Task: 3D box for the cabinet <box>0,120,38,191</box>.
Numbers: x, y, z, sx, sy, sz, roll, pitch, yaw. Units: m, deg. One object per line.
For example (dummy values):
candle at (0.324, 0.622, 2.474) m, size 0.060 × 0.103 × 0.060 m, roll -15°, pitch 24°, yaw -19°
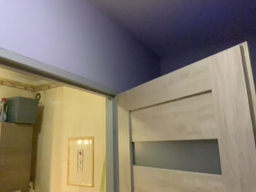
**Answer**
cabinet at (-1.330, 0.700, 2.430) m, size 0.230 × 0.810 × 0.450 m, roll -8°, pitch -14°, yaw 29°
